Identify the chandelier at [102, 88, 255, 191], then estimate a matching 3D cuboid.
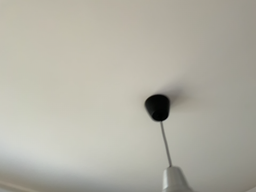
[{"bbox_3d":[0.150,0.300,0.950,0.320,0.310,0.640,-12,-137,-24],"label":"chandelier"}]
